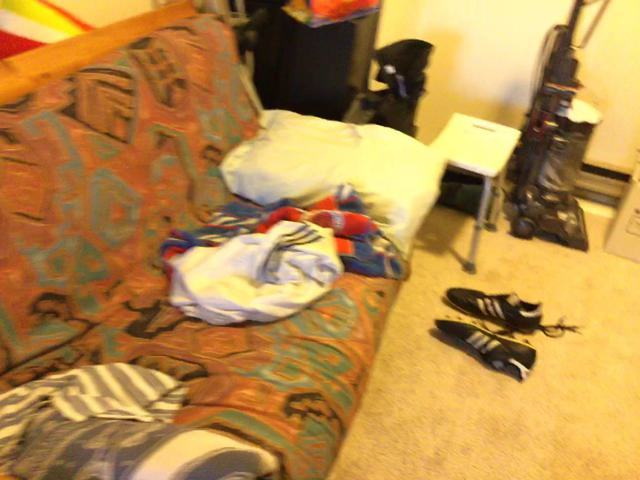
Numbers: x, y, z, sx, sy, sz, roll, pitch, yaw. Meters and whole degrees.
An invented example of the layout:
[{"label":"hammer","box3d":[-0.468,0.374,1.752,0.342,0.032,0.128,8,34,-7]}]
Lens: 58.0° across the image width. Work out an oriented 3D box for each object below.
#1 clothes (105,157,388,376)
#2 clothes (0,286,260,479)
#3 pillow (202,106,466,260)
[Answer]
[{"label":"clothes","box3d":[-0.150,0.020,1.430,0.450,0.180,0.540,17,34,21]},{"label":"clothes","box3d":[-0.360,0.290,1.020,0.420,0.180,0.280,17,34,21]},{"label":"pillow","box3d":[0.050,-0.210,1.770,0.650,0.210,0.450,14,33,26]}]
